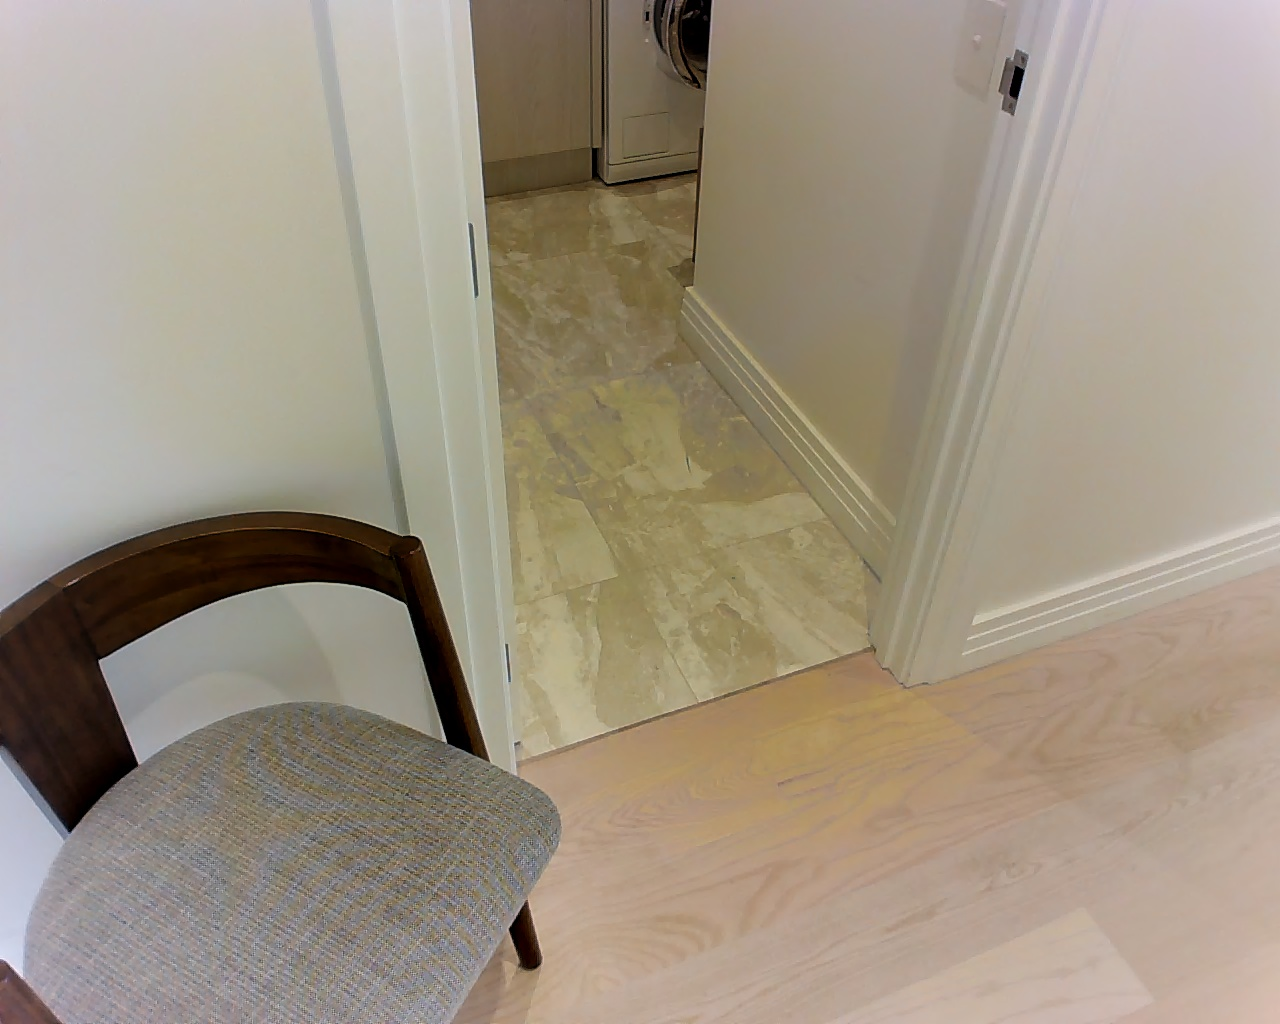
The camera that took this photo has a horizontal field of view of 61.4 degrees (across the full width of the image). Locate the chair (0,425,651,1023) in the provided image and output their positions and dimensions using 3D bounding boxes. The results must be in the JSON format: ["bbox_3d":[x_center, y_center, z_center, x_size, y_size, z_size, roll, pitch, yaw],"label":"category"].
[{"bbox_3d":[-0.350,0.420,1.080,0.490,0.710,0.570,20,44,20],"label":"chair"}]
